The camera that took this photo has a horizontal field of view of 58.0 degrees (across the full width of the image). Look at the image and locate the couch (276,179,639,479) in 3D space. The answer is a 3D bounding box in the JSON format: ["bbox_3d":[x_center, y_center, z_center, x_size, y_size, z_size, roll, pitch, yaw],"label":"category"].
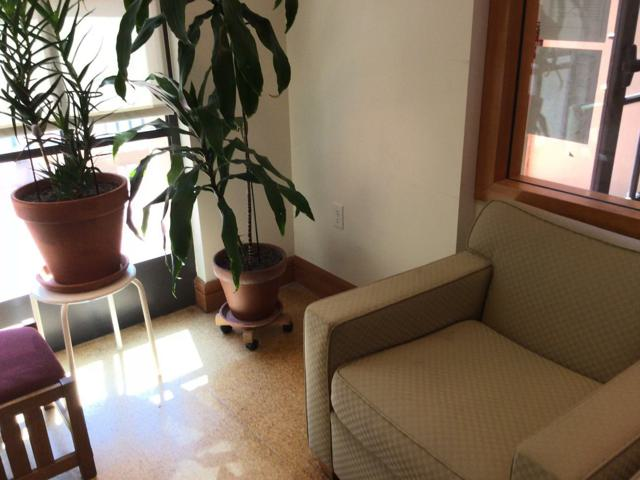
[{"bbox_3d":[0.520,0.380,1.560,0.890,0.780,0.930,-14,24,-30],"label":"couch"}]
